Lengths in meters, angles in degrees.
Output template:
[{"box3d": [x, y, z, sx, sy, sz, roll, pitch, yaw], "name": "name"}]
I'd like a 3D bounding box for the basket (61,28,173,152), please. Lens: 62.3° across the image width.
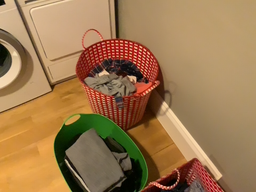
[{"box3d": [-0.090, -0.050, 1.400, 0.450, 0.460, 0.540, -23, 56, -18], "name": "basket"}]
